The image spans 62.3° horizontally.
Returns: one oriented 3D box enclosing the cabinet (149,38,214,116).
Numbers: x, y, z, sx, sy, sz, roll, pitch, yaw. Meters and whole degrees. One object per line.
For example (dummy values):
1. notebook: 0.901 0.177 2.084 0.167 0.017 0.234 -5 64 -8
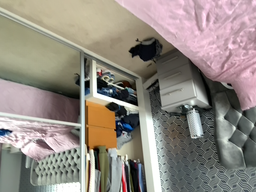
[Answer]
1. cabinet: 0.570 -0.170 2.290 0.430 0.640 0.450 -20 155 35
